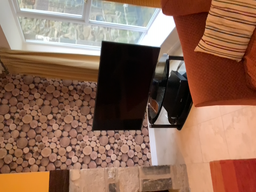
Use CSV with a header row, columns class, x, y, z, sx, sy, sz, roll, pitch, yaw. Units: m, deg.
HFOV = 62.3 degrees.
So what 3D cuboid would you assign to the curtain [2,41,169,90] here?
class,x,y,z,sx,sy,sz,roll,pitch,yaw
curtain,-0.630,-0.430,3.570,0.920,2.410,0.250,133,137,-65
